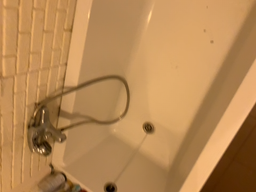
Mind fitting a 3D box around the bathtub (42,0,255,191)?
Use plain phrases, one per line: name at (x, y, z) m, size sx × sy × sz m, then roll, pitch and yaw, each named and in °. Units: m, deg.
bathtub at (0.160, -0.080, 1.040) m, size 0.700 × 0.600 × 1.440 m, roll 29°, pitch 118°, yaw 17°
